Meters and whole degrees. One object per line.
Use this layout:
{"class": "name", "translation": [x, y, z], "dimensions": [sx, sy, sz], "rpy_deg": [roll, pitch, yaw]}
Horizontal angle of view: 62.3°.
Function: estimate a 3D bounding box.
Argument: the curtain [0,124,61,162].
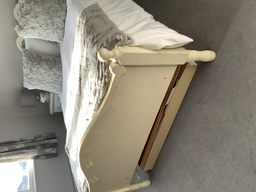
{"class": "curtain", "translation": [-1.710, 0.690, 2.950], "dimensions": [0.340, 1.440, 0.250], "rpy_deg": [63, 146, 39]}
